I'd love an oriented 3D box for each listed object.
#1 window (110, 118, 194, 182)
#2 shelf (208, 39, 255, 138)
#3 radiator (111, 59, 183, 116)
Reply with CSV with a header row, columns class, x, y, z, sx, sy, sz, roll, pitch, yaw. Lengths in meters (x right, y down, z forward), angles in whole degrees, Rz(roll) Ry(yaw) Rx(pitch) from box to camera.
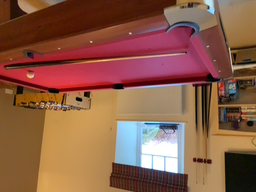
class,x,y,z,sx,sy,sz,roll,pitch,yaw
window,0.440,0.900,3.840,1.340,0.930,0.650,-2,170,27
shelf,1.560,-0.070,2.660,0.970,1.160,0.450,-2,170,29
radiator,0.300,-0.120,3.560,1.190,0.870,0.160,-2,170,27
